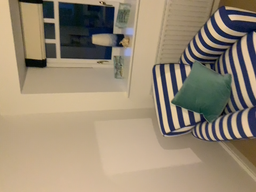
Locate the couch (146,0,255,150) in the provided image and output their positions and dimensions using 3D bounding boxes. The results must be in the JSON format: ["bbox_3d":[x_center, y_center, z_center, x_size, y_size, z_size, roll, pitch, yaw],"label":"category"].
[{"bbox_3d":[0.760,-0.090,1.750,0.950,0.830,0.910,131,135,-66],"label":"couch"}]
